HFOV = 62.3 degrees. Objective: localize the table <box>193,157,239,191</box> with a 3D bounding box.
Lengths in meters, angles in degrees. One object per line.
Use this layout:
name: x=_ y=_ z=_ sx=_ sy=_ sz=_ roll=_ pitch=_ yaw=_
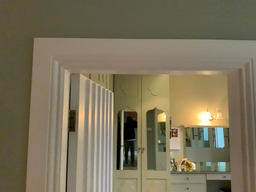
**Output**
table: x=1.730 y=1.640 z=4.230 sx=0.700 sy=0.720 sz=0.500 roll=0 pitch=-6 yaw=0
